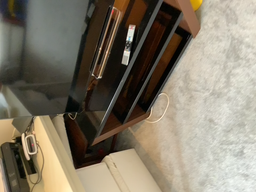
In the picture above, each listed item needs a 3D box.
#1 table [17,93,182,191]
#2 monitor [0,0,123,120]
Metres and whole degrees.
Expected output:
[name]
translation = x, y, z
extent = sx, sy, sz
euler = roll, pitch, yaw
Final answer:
[table]
translation = -0.300, 0.640, 1.760
extent = 1.290, 0.760, 0.670
euler = 50, 125, 35
[monitor]
translation = -0.410, -0.350, 1.220
extent = 0.070, 0.690, 1.110
euler = 42, 120, 39
